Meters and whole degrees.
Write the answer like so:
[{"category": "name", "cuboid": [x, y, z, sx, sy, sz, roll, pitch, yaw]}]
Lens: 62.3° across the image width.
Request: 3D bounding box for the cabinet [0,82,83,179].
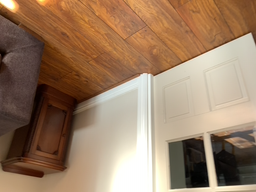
[{"category": "cabinet", "cuboid": [-0.770, 0.340, 1.990, 0.380, 0.750, 0.440, -21, 143, 35]}]
